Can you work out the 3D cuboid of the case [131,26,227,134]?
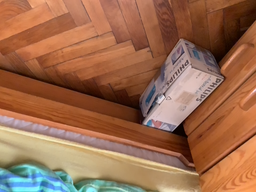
[{"bbox_3d":[0.150,-0.040,0.760,0.130,0.150,0.350,19,129,-19],"label":"case"}]
